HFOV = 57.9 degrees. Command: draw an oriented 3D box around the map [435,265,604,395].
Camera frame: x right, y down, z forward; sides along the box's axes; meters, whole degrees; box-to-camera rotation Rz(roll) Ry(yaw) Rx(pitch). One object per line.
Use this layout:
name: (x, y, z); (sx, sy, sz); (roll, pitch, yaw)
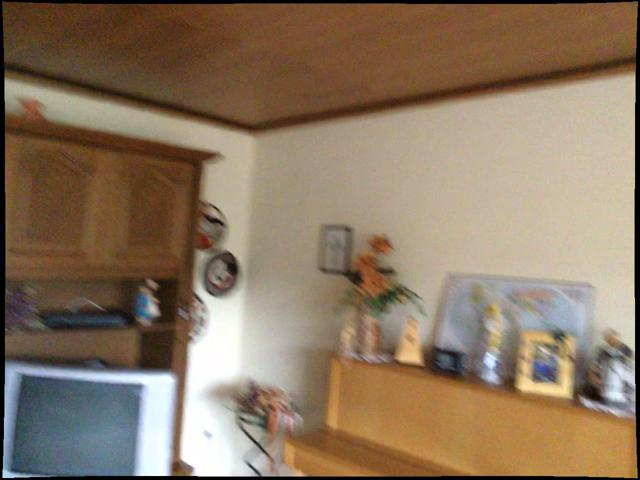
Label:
map: (0.829, 0.360, 2.500); (0.700, 0.440, 0.060); (5, 2, 43)

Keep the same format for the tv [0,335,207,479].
tv: (-0.949, 0.831, 2.590); (0.709, 0.641, 0.630); (4, 2, 2)
